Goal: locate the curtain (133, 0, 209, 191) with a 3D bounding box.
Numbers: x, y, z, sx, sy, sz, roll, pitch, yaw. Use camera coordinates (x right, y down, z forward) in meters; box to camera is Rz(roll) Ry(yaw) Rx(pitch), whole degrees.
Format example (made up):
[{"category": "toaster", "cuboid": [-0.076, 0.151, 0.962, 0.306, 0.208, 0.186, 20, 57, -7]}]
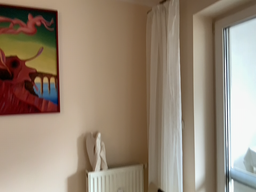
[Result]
[{"category": "curtain", "cuboid": [0.340, 0.300, 1.810, 0.380, 2.550, 0.540, 0, 0, -23]}]
